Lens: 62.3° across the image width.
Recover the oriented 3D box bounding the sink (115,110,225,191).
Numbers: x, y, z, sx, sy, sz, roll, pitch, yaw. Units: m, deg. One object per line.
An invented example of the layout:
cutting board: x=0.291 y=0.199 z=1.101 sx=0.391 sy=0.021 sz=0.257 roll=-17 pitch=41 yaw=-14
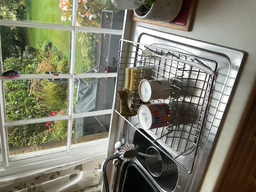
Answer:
sink: x=0.130 y=0.260 z=0.920 sx=0.520 sy=0.120 sz=0.180 roll=37 pitch=124 yaw=50
